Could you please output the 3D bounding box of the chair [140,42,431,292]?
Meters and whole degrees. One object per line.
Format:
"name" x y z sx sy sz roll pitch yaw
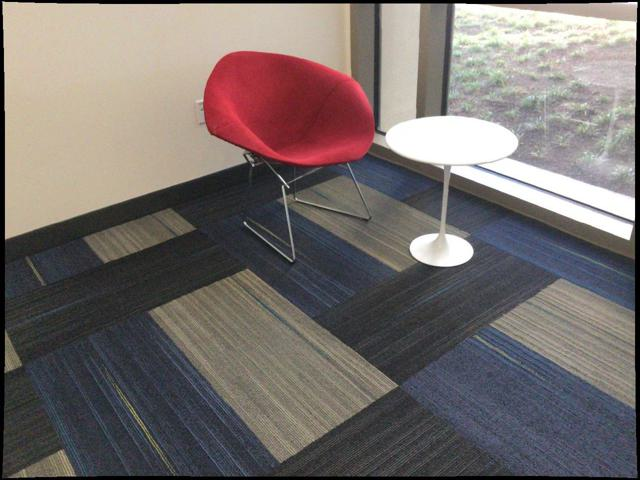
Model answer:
"chair" -0.150 -0.401 2.570 0.879 0.671 0.849 -24 38 -33
